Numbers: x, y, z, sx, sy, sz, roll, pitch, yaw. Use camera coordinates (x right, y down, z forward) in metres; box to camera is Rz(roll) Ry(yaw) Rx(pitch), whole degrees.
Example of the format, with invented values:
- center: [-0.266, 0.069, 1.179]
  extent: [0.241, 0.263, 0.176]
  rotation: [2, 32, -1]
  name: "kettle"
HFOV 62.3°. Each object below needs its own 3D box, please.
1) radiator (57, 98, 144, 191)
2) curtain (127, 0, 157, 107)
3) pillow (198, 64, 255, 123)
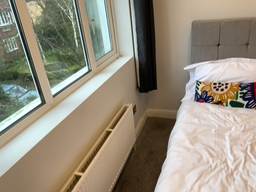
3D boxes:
- center: [-0.170, 0.600, 1.570]
  extent: [0.150, 0.530, 1.490]
  rotation: [4, 28, 20]
  name: "radiator"
- center: [0.130, -0.880, 2.150]
  extent: [0.160, 2.110, 0.300]
  rotation: [4, 28, 21]
  name: "curtain"
- center: [0.970, -0.020, 2.040]
  extent: [0.500, 0.270, 0.150]
  rotation: [43, 36, -2]
  name: "pillow"
